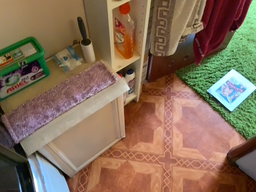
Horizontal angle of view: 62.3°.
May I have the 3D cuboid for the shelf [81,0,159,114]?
[{"bbox_3d":[-0.030,-0.510,0.600,0.240,2.010,0.190,-33,66,-18],"label":"shelf"}]
